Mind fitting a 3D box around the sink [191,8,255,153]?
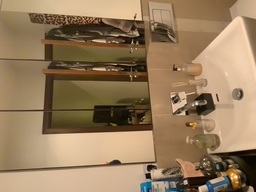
[{"bbox_3d":[0.550,-0.030,1.110,0.500,0.130,0.610,121,147,-70],"label":"sink"}]
